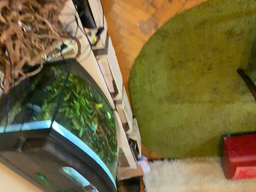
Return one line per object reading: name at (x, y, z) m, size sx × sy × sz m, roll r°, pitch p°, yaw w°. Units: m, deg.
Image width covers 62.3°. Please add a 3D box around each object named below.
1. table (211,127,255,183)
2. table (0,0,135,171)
table at (1.250, 0.640, 2.280) m, size 0.570 × 0.360 × 0.520 m, roll -8°, pitch 137°, yaw 10°
table at (-0.320, 0.030, 1.680) m, size 0.480 × 0.360 × 1.850 m, roll -6°, pitch 138°, yaw 8°
